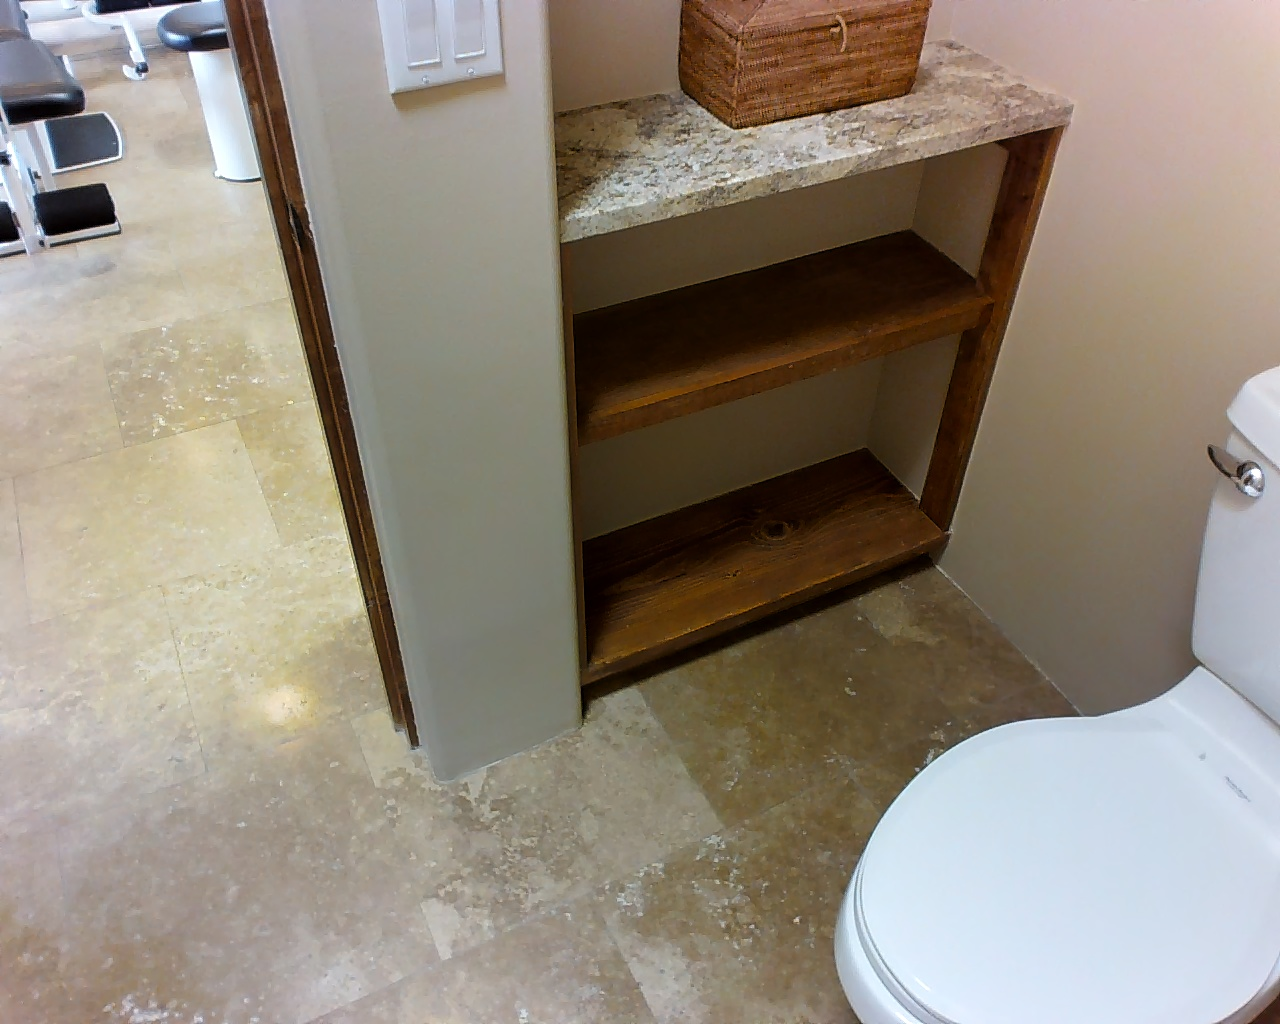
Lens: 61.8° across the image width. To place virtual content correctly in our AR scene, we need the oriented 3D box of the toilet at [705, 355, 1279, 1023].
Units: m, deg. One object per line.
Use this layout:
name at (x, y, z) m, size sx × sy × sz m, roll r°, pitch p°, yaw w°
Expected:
toilet at (0.550, 0.360, 1.160) m, size 0.790 × 0.820 × 0.470 m, roll -19°, pitch 46°, yaw -21°
